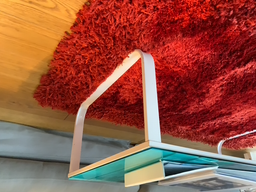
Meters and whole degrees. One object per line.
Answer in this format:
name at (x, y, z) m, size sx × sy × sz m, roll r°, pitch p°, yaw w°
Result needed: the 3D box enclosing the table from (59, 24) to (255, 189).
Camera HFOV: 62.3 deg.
table at (0.340, 0.210, 0.990) m, size 1.100 × 0.340 × 0.600 m, roll 16°, pitch 147°, yaw -30°
